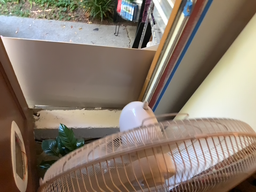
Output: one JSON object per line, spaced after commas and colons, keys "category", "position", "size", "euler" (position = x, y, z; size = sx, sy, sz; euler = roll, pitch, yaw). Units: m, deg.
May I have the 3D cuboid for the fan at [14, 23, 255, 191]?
{"category": "fan", "position": [-0.010, 0.330, 0.880], "size": [0.530, 1.240, 0.350], "euler": [-5, 57, -15]}
